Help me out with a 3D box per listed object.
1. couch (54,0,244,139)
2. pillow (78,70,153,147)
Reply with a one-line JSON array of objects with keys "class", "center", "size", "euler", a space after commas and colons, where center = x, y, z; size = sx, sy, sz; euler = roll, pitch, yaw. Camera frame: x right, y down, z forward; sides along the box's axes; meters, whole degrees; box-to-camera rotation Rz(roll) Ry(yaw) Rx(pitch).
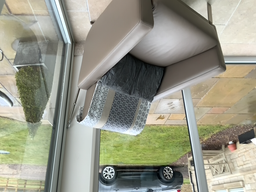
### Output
[{"class": "couch", "center": [0.080, -0.250, 1.480], "size": [0.750, 0.820, 0.900], "euler": [19, 147, -36]}, {"class": "pillow", "center": [-0.070, 0.100, 1.560], "size": [0.480, 0.330, 0.130], "euler": [43, 152, -26]}]
